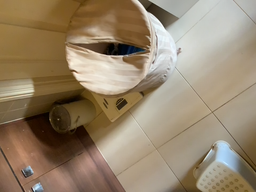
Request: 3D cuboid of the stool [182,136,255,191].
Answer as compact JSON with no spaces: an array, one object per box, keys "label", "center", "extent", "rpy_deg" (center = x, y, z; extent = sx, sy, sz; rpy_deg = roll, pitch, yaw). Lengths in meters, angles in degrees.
[{"label":"stool","center":[0.480,0.420,1.030],"extent":[0.230,0.140,0.350],"rpy_deg":[-41,79,28]}]
